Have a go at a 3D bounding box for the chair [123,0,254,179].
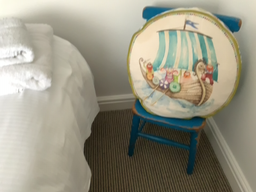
[{"bbox_3d":[0.230,-0.040,1.000,0.370,0.670,0.470,13,44,13],"label":"chair"}]
